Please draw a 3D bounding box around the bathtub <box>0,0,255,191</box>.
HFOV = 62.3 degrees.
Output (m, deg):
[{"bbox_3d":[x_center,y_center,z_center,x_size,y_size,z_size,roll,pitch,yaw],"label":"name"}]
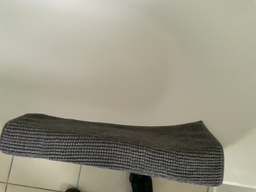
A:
[{"bbox_3d":[-0.330,-0.170,0.820,1.740,0.560,0.730,11,84,-5],"label":"bathtub"}]
